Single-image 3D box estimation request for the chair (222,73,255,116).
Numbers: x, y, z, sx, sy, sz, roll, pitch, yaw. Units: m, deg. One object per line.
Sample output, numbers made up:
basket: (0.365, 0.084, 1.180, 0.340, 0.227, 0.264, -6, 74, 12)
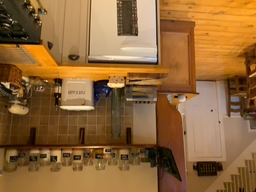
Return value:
chair: (2.840, -0.010, 5.410, 0.510, 1.010, 0.550, 1, 170, -6)
